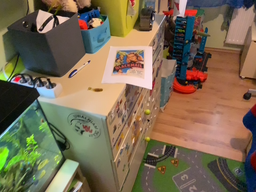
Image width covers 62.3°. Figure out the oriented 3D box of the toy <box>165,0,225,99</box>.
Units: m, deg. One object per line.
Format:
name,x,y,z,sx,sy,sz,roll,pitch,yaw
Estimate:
toy,0.670,-0.550,2.150,0.400,0.750,0.820,10,44,15
